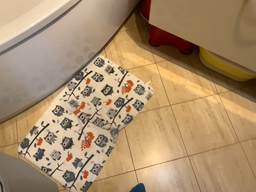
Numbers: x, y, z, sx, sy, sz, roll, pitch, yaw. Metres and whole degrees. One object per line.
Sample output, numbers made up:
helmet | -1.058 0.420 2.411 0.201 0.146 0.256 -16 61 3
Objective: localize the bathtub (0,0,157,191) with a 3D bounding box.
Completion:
bathtub | -0.640 -0.410 1.120 1.060 0.580 1.510 29 72 11
